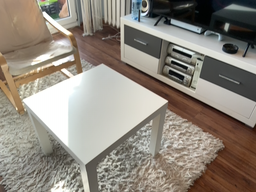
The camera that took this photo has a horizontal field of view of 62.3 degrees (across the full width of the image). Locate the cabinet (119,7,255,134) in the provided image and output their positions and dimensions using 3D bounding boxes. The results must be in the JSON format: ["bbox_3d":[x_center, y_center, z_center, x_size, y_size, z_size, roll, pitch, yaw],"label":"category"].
[{"bbox_3d":[0.600,-0.340,1.930,1.360,0.490,0.580,32,48,32],"label":"cabinet"}]

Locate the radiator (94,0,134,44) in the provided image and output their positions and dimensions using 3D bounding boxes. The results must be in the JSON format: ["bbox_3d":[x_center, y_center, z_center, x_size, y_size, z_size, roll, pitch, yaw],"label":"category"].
[{"bbox_3d":[-0.180,-1.330,2.510,0.190,1.290,0.540,-29,48,-33],"label":"radiator"}]

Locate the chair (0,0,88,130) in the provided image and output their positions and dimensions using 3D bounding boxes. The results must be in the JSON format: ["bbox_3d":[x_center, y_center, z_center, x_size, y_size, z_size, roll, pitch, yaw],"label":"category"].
[{"bbox_3d":[-0.870,-0.470,1.680,0.610,1.000,0.870,-30,48,-33],"label":"chair"}]
